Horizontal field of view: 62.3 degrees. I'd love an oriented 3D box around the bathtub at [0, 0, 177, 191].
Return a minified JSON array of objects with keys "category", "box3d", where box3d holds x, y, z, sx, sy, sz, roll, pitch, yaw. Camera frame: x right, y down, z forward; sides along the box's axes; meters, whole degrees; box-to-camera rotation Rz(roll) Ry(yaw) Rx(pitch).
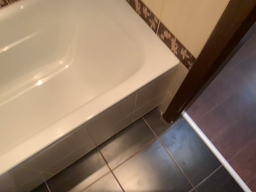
[{"category":"bathtub","box3d":[-0.600,0.080,1.040,1.450,0.570,0.680,-32,72,-15]}]
